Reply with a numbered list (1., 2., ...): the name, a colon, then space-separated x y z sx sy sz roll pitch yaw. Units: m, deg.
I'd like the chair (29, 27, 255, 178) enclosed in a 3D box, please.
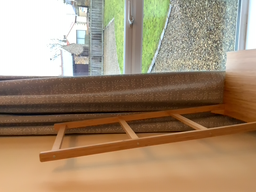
1. chair: 0.350 0.000 0.990 0.440 1.400 0.450 -149 60 -75
